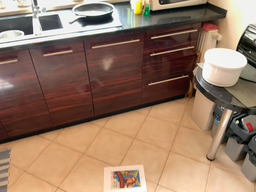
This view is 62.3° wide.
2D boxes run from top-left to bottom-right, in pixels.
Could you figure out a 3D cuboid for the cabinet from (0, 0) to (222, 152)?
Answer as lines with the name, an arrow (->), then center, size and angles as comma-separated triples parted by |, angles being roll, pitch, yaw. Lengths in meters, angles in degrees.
cabinet -> -0.510, -0.220, 1.870 | 2.490, 0.860, 0.620 | -14, 41, -16
